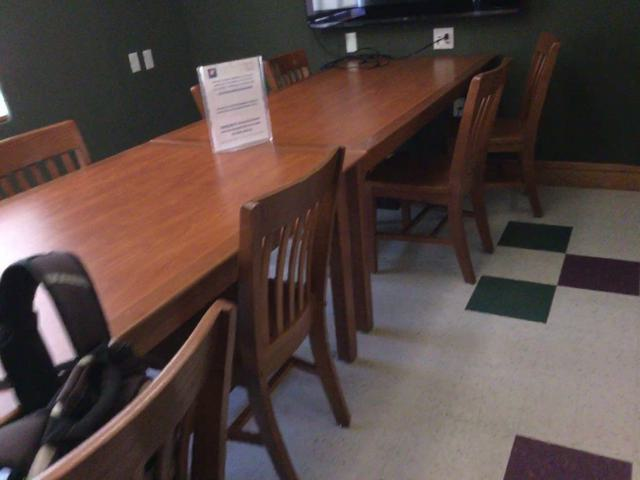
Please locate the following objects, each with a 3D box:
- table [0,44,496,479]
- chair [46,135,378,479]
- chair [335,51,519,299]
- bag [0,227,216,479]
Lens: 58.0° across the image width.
[{"bbox_3d":[-0.280,-0.010,2.130,1.110,0.830,3.590,7,27,26],"label":"table"},{"bbox_3d":[-0.230,0.210,1.590,0.600,0.870,0.470,7,28,27],"label":"chair"},{"bbox_3d":[0.480,-0.300,2.480,0.600,0.890,0.510,7,27,26],"label":"chair"},{"bbox_3d":[-0.330,0.310,0.770,0.250,0.510,0.410,-6,25,0],"label":"bag"}]
